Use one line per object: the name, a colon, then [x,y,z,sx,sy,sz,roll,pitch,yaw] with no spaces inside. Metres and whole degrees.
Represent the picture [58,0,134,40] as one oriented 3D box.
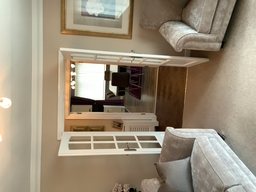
picture: [-0.440,-1.290,3.070,0.010,1.070,0.840,-146,59,-75]
